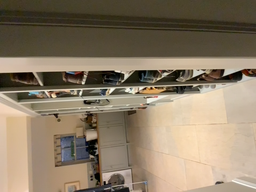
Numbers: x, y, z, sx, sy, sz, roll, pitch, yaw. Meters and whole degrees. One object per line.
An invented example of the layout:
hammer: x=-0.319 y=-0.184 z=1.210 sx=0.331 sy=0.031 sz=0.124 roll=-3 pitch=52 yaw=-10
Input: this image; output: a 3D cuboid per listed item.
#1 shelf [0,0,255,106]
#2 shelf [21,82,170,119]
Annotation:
shelf: x=-0.010 y=-0.220 z=1.800 sx=1.330 sy=2.180 sz=0.330 roll=151 pitch=115 yaw=-72
shelf: x=-0.560 y=0.110 z=3.760 sx=1.310 sy=2.180 sz=0.380 roll=151 pitch=115 yaw=-72
